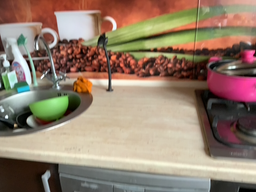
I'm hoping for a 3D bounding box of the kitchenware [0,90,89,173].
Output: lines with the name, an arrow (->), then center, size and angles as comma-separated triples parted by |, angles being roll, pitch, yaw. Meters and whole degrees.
kitchenware -> -0.400, 0.130, 0.970 | 0.310, 0.180, 0.370 | 3, 24, 12
